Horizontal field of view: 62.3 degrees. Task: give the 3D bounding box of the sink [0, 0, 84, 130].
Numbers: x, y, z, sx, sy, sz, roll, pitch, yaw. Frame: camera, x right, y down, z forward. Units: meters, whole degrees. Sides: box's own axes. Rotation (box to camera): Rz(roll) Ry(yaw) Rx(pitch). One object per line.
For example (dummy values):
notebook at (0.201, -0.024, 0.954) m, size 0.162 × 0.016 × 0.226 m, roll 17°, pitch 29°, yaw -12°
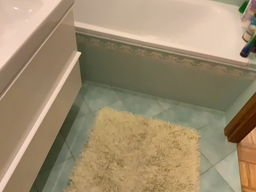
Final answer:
sink at (-0.540, -0.210, 0.740) m, size 0.500 × 0.130 × 0.830 m, roll 13°, pitch 51°, yaw 3°
